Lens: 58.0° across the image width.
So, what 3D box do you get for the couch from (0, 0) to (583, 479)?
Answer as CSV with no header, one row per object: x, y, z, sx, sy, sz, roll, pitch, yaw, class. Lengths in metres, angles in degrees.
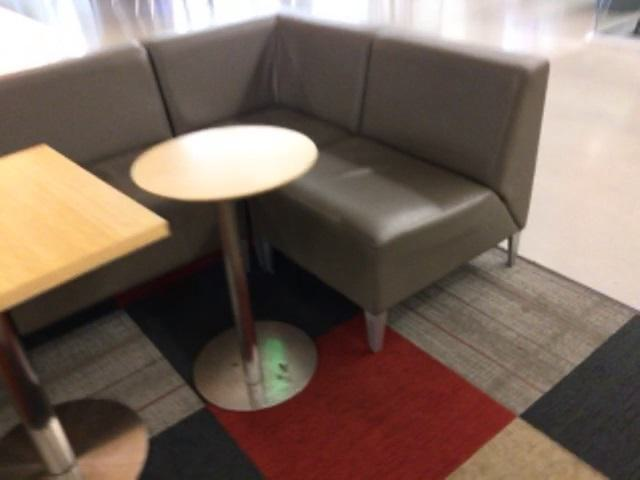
-0.540,-0.080,1.800,2.250,0.840,1.500,-30,41,-31,couch
